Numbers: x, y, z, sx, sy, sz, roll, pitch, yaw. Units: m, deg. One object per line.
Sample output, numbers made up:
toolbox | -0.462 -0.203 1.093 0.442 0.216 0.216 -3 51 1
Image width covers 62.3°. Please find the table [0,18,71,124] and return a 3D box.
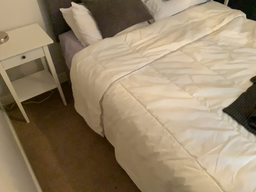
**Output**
table | -0.840 -0.200 1.800 0.450 0.690 0.360 -28 51 -24
